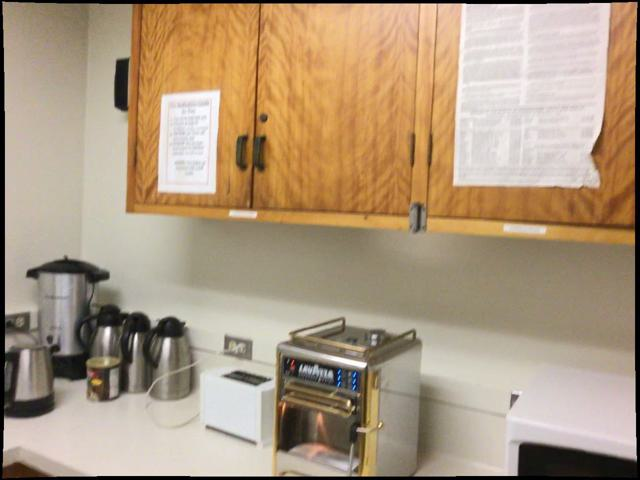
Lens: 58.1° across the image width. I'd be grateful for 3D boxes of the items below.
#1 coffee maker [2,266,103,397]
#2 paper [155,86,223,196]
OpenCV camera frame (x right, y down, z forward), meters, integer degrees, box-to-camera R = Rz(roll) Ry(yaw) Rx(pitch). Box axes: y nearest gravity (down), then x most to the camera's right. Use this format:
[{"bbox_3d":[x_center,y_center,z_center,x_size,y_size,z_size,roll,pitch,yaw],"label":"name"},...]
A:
[{"bbox_3d":[-0.958,0.311,2.060,0.299,0.401,0.190,3,3,31],"label":"coffee maker"},{"bbox_3d":[-0.369,-0.271,1.610,0.230,0.291,0.020,3,3,30],"label":"paper"}]
